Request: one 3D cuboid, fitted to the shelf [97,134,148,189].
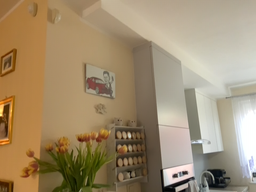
[{"bbox_3d":[-0.030,0.450,1.520,0.130,0.330,0.400,-12,-17,35],"label":"shelf"}]
